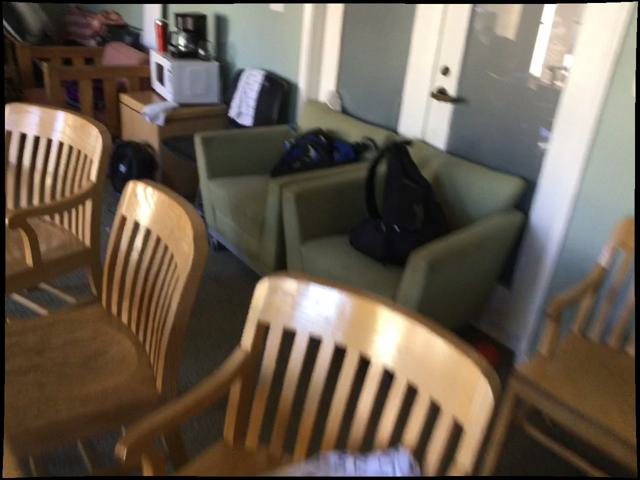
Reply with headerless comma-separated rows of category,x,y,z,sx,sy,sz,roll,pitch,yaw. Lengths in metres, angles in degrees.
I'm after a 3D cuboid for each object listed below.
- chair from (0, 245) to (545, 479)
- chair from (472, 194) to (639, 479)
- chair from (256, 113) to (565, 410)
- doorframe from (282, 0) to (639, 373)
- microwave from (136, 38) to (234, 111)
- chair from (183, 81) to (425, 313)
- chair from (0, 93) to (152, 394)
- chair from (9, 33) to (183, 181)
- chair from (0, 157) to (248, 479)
chair,-0.070,0.601,1.160,0.640,0.821,0.710,21,33,28
chair,0.959,0.400,1.650,0.630,0.771,0.640,-19,36,-36
chair,0.320,0.000,2.470,0.800,0.761,0.910,-19,36,-36
doorframe,0.480,-0.741,2.400,0.270,2.032,1.660,-19,36,-36
microwave,-0.839,-1.041,3.590,0.360,0.290,0.570,-19,36,-36
chair,-0.120,-0.280,2.870,0.710,0.731,0.930,-19,36,-36
chair,-1.139,-0.040,2.170,0.630,0.781,0.690,17,31,22
chair,-1.508,-0.951,3.940,0.790,0.711,0.820,-19,36,-36
chair,-0.659,0.310,1.620,0.620,0.801,0.700,-19,36,-36
